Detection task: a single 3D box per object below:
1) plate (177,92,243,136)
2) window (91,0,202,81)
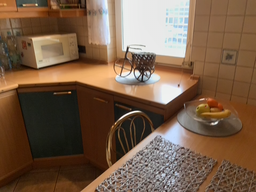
[{"bbox_3d":[0.500,0.090,1.280,0.280,0.080,0.320,16,27,34],"label":"plate"},{"bbox_3d":[0.100,-1.040,1.880,1.130,1.640,0.150,17,28,36],"label":"window"}]
